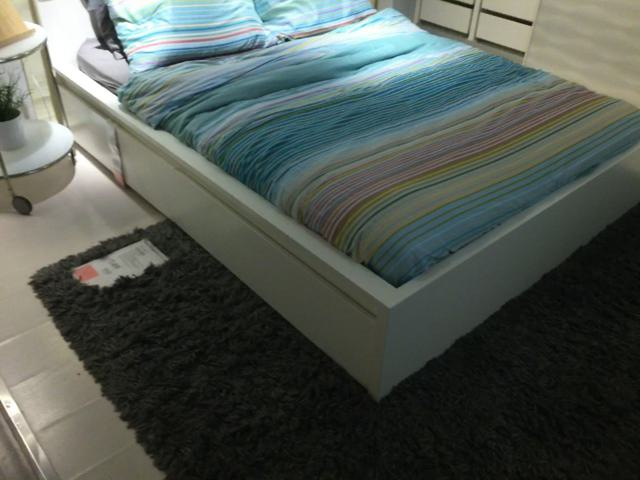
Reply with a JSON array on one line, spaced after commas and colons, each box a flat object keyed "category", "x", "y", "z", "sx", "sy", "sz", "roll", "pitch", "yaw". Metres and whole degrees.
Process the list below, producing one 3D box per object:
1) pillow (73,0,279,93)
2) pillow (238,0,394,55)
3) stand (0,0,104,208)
[{"category": "pillow", "x": -0.590, "y": -0.950, "z": 2.430, "sx": 0.720, "sy": 0.430, "sz": 0.160, "roll": -28, "pitch": 6, "yaw": -28}, {"category": "pillow", "x": -0.040, "y": -1.220, "z": 2.780, "sx": 0.690, "sy": 0.430, "sz": 0.200, "roll": -28, "pitch": 3, "yaw": -29}, {"category": "stand", "x": -1.260, "y": -0.550, "z": 2.240, "sx": 0.510, "sy": 0.580, "sz": 0.540, "roll": -28, "pitch": 51, "yaw": -28}]
